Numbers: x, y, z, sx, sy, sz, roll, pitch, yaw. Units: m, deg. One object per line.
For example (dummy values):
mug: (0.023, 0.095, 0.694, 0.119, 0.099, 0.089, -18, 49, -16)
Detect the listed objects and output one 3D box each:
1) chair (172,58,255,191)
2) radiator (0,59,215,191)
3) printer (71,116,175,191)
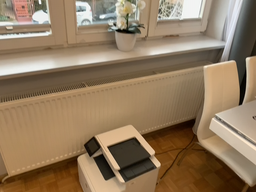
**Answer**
chair: (0.740, 0.290, 1.520, 0.410, 0.910, 0.600, -13, 35, -26)
radiator: (-0.110, 0.170, 1.750, 1.860, 0.740, 0.140, -11, 34, -24)
printer: (-0.060, 0.510, 1.560, 0.570, 0.410, 0.460, -13, 35, -26)
